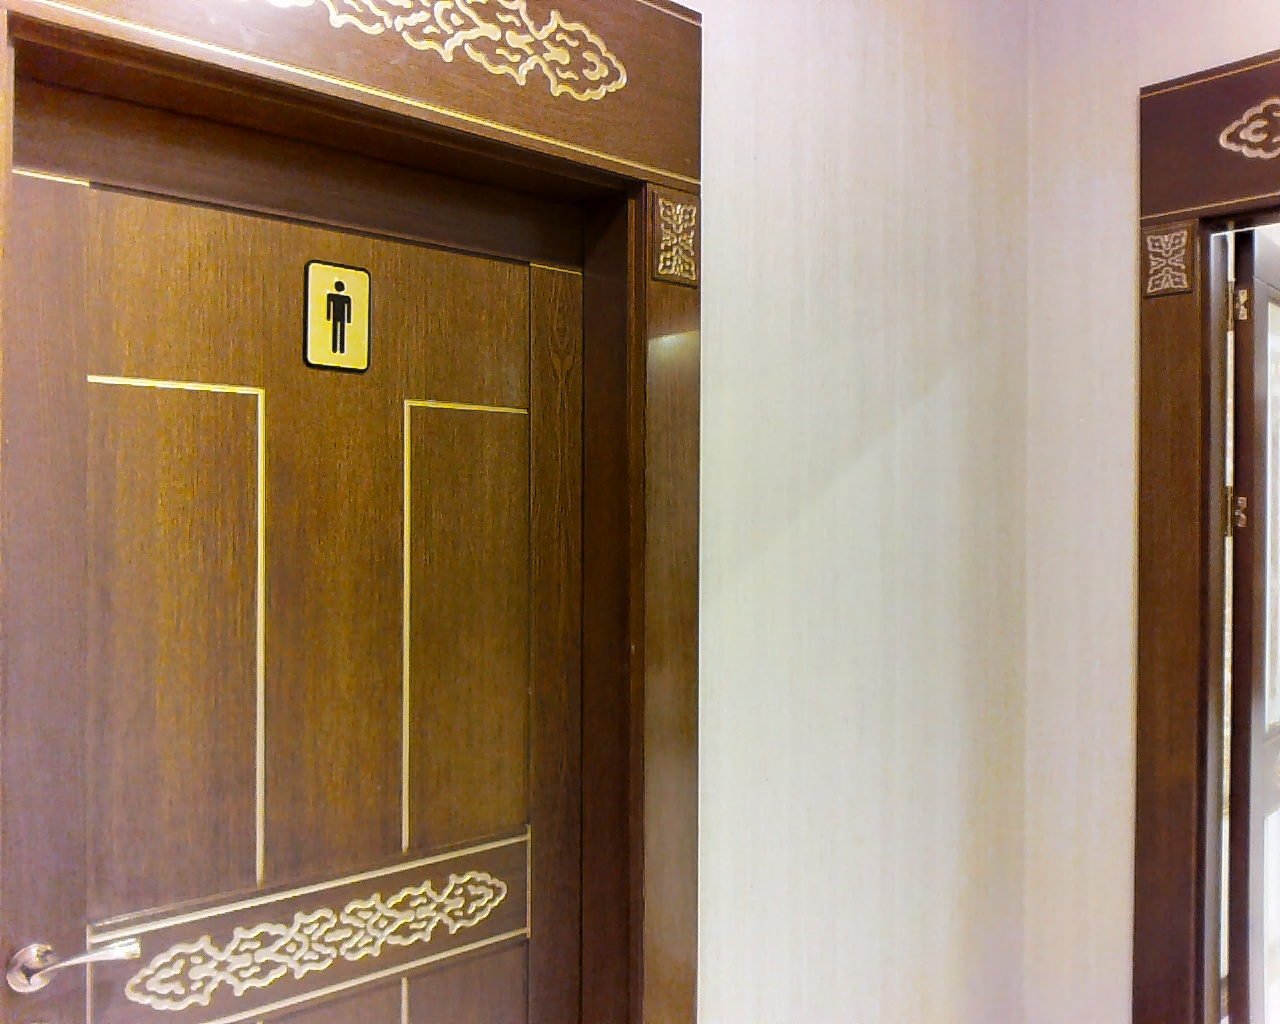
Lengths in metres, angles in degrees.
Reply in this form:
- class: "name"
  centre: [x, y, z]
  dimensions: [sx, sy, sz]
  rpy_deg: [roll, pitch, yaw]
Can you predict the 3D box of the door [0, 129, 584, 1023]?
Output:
- class: "door"
  centre: [-0.470, 0.570, 1.430]
  dimensions: [0.850, 1.941, 0.170]
  rpy_deg: [1, 0, -41]
